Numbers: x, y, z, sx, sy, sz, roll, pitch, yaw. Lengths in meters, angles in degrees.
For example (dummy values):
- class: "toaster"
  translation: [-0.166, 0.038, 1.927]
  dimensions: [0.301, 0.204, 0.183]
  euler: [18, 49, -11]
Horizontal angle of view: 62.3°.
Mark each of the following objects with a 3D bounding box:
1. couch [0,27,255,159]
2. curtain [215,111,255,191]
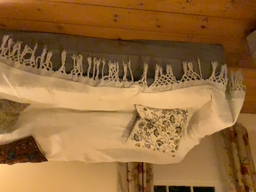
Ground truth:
- class: "couch"
  translation: [-0.250, 0.100, 1.830]
  dimensions: [2.130, 0.650, 1.080]
  euler: [3, 154, -6]
- class: "curtain"
  translation: [1.260, 1.410, 2.090]
  dimensions: [0.290, 2.630, 0.150]
  euler: [3, 154, -6]
